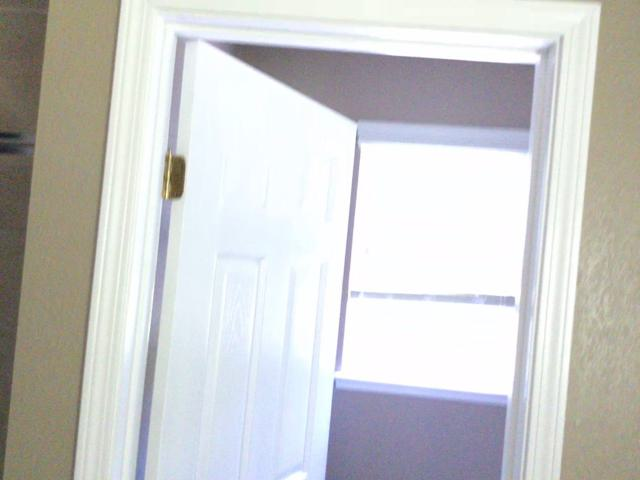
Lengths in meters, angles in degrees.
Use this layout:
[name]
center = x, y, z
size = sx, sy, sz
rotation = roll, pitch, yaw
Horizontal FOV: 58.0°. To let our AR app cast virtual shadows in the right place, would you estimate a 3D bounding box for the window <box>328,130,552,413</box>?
[window]
center = 0.410, 0.100, 2.040
size = 0.670, 0.880, 0.240
rotation = 5, -4, 5
